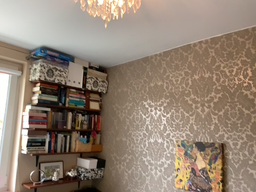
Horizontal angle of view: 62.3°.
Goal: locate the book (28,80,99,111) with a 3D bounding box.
[{"bbox_3d":[-0.780,0.020,2.710,0.210,0.240,0.880,-6,-13,41],"label":"book"}]
